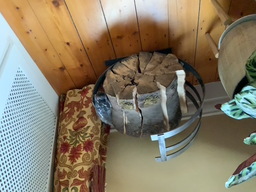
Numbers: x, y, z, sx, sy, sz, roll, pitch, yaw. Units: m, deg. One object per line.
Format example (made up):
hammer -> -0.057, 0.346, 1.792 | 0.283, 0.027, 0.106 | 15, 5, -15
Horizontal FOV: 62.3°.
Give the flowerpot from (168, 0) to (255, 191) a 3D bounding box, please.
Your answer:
flowerpot -> 0.510, -0.120, 0.750 | 0.540, 0.840, 0.510 | -13, 141, 6
